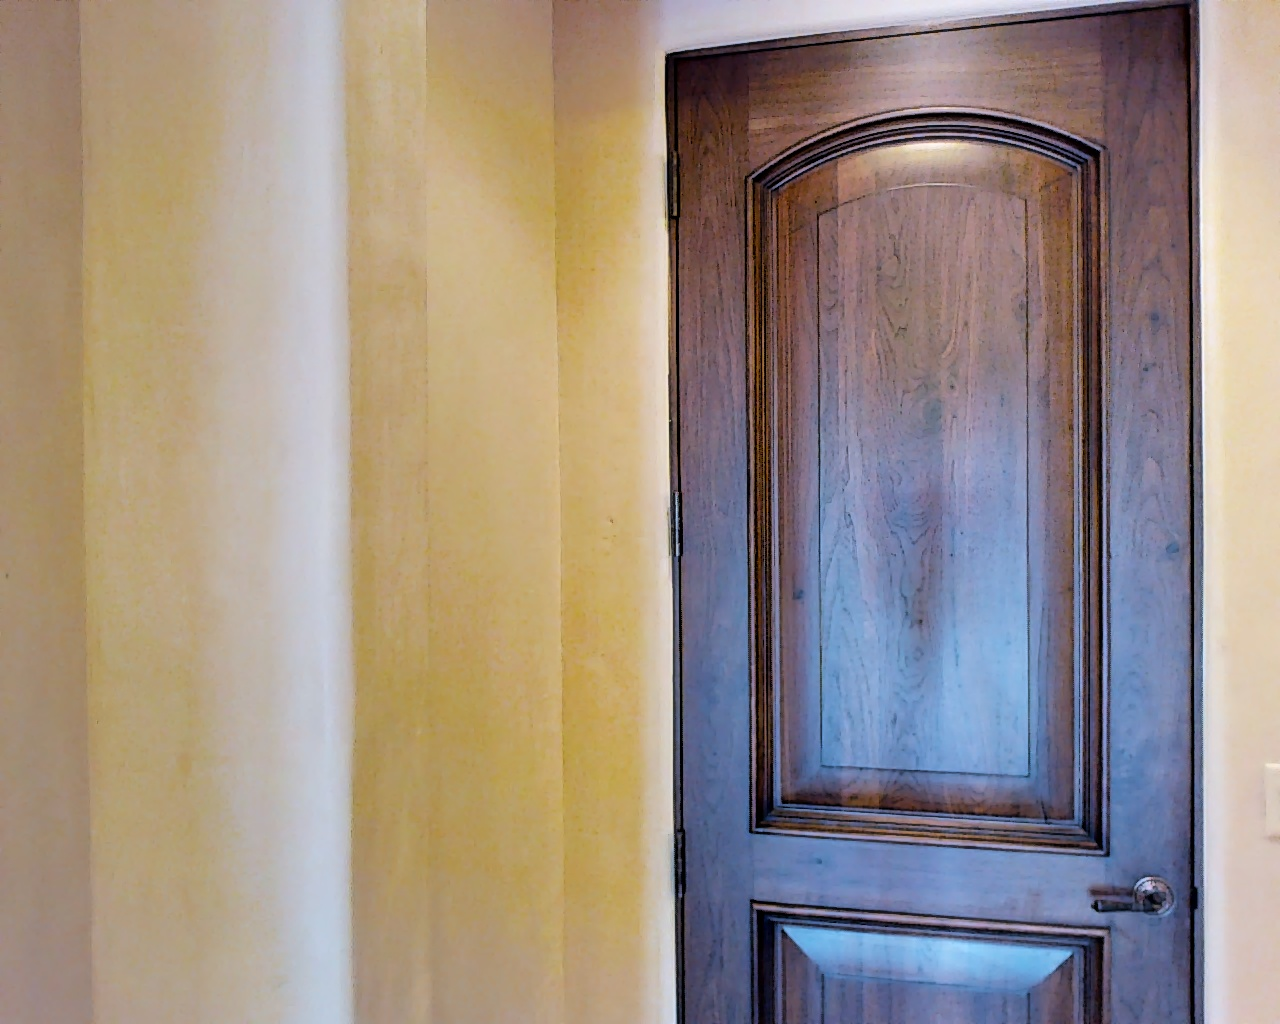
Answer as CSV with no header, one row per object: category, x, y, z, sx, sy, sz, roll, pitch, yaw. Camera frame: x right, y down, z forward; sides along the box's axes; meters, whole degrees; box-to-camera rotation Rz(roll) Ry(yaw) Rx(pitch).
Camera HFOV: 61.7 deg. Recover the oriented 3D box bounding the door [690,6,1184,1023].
door,0.510,0.370,1.920,0.830,2.410,0.060,0,0,16
